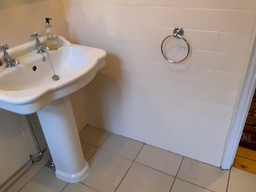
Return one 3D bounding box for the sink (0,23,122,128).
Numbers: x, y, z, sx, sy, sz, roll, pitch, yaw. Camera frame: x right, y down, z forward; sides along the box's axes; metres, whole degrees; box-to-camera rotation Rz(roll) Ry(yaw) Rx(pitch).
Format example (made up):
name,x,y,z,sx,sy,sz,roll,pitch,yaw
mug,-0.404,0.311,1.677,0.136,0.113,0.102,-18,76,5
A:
name,x,y,z,sx,sy,sz,roll,pitch,yaw
sink,-0.380,-0.170,1.080,0.450,0.220,0.610,14,36,24
